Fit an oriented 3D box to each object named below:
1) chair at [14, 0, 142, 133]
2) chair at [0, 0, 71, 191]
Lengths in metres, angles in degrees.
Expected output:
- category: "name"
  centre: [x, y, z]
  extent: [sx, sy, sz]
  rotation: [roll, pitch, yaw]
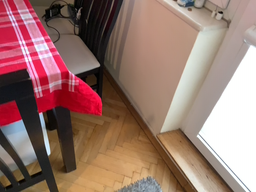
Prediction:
- category: "chair"
  centre: [-0.320, -0.320, 1.340]
  extent: [0.560, 1.010, 0.440]
  rotation: [-17, 51, -25]
- category: "chair"
  centre: [-0.540, 0.180, 0.820]
  extent: [0.410, 0.990, 0.560]
  rotation: [-22, 53, -28]
